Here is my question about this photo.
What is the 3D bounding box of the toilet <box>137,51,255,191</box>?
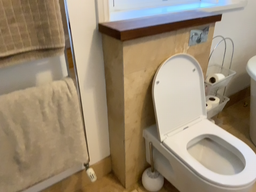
[{"bbox_3d":[0.370,0.270,1.150,0.380,0.830,0.560,-18,35,-27],"label":"toilet"}]
